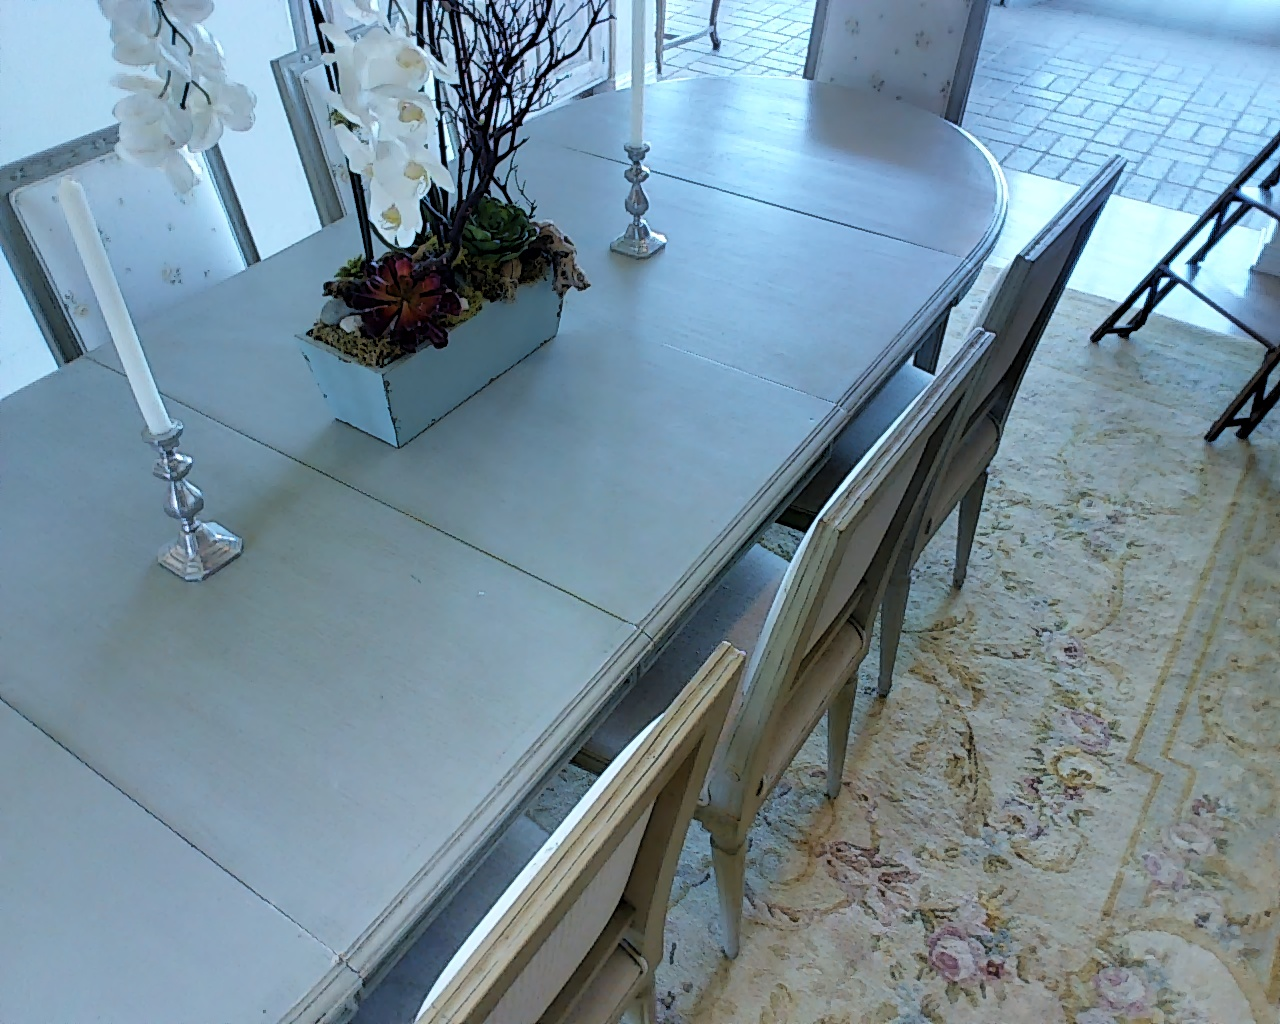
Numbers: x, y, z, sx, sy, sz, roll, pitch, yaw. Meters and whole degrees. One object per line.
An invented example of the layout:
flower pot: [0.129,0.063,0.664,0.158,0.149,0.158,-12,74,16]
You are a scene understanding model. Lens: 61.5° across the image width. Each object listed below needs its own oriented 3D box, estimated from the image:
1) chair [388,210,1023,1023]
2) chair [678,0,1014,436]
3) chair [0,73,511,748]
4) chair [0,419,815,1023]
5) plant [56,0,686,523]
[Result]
chair: [0.090,0.170,1.570,0.550,0.950,0.520,24,47,25]
chair: [0.470,-0.780,2.640,0.530,0.930,0.530,24,47,25]
chair: [-0.670,-0.180,1.970,0.540,0.950,0.580,24,47,25]
chair: [-0.190,0.490,1.190,0.470,0.950,0.530,24,47,25]
plant: [-0.290,-0.510,1.370,0.450,0.750,0.580,24,47,25]
